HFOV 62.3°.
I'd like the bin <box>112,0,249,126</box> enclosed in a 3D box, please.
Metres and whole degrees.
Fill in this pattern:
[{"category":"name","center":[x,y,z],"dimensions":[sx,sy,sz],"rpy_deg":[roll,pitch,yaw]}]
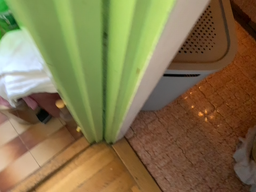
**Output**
[{"category":"bin","center":[0.130,-0.170,0.980],"dimensions":[0.350,0.690,0.470],"rpy_deg":[3,71,-6]}]
